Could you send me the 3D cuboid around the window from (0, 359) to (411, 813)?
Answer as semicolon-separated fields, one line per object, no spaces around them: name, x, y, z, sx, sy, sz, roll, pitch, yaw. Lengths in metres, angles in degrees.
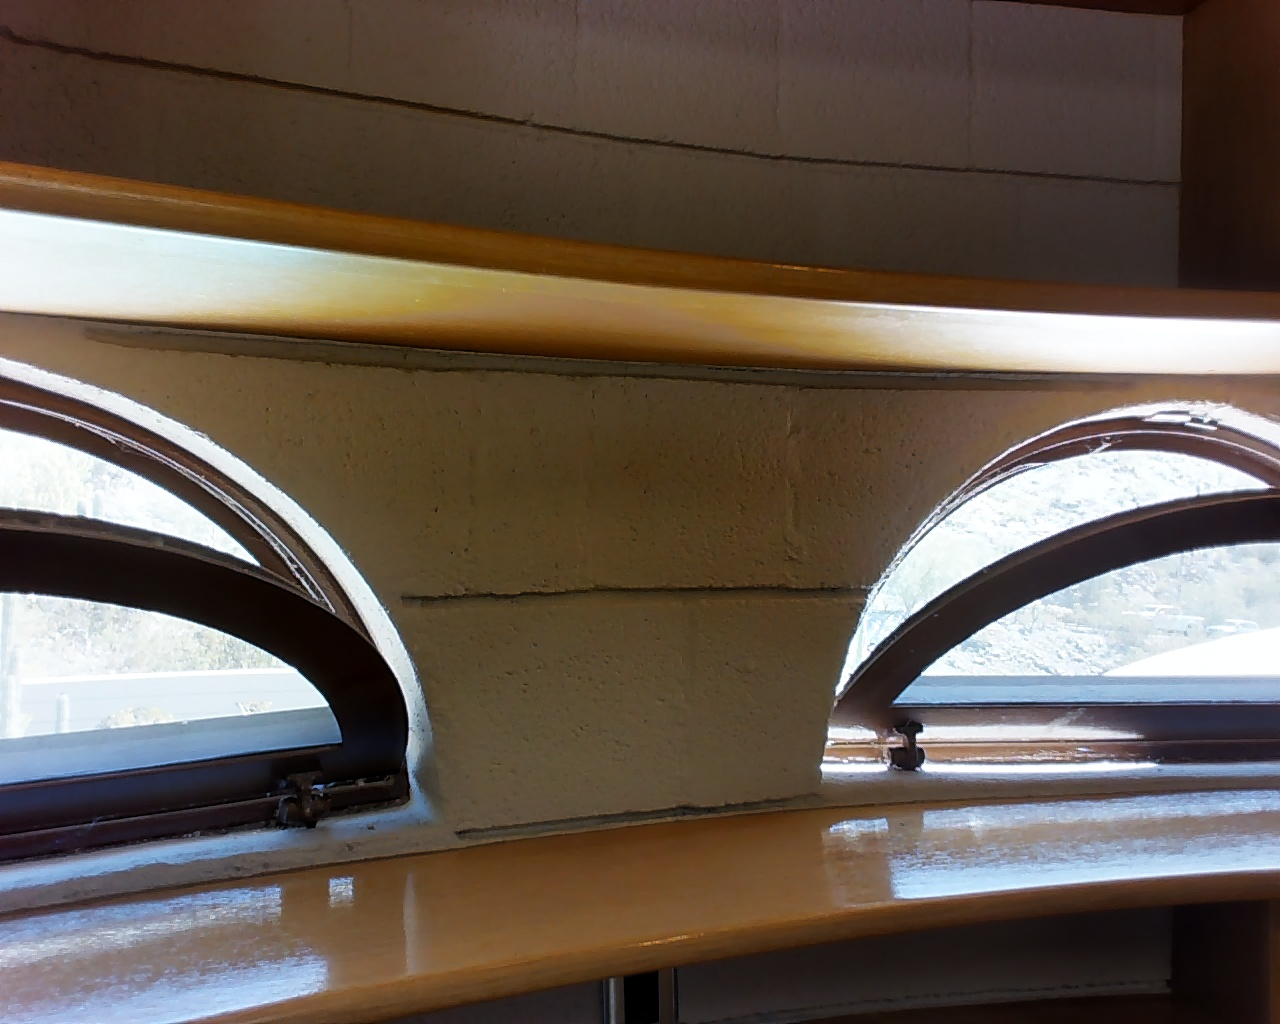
window;-0.490;0.050;0.730;0.680;0.310;0.060;1;0;-35

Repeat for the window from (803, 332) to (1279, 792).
window;0.560;0.060;1.090;0.770;0.430;0.070;2;0;-6
